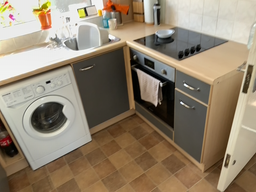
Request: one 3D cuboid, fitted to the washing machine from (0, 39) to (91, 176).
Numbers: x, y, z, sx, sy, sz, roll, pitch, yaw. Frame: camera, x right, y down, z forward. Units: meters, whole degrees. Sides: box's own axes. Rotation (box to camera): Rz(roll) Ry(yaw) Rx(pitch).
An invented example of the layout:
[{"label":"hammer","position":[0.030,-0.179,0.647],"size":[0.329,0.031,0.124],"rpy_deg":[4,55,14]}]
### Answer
[{"label":"washing machine","position":[-0.840,0.070,1.960],"size":[0.600,0.920,0.650],"rpy_deg":[-25,38,-25]}]
